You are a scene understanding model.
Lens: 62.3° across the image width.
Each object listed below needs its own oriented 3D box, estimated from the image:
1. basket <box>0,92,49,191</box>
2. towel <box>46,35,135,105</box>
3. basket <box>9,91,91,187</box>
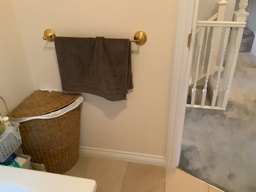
[{"bbox_3d":[-0.670,0.370,1.220,0.190,0.780,0.200,5,30,10],"label":"basket"},{"bbox_3d":[-0.210,-0.160,1.320,0.500,0.390,0.120,4,30,8],"label":"towel"},{"bbox_3d":[-0.520,0.310,1.540,0.350,0.580,0.320,4,30,9],"label":"basket"}]
